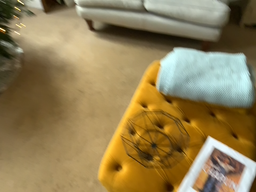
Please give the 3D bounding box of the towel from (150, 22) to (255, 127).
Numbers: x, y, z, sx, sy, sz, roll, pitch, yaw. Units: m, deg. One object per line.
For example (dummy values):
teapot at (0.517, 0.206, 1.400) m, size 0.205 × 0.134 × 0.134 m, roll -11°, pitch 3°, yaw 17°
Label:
towel at (0.420, -0.140, 1.160) m, size 0.470 × 0.250 × 0.420 m, roll 17°, pitch 52°, yaw 14°
